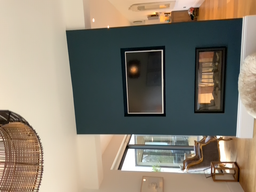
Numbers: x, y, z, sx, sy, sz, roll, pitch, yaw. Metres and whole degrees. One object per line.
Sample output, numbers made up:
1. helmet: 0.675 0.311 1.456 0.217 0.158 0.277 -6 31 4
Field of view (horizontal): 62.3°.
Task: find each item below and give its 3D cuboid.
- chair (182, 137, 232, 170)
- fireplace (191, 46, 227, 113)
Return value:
1. chair: 1.560 1.140 4.330 0.610 0.830 0.590 47 -137 -77
2. fireplace: 1.180 -0.240 3.150 0.290 0.430 0.950 -56 -36 -75
